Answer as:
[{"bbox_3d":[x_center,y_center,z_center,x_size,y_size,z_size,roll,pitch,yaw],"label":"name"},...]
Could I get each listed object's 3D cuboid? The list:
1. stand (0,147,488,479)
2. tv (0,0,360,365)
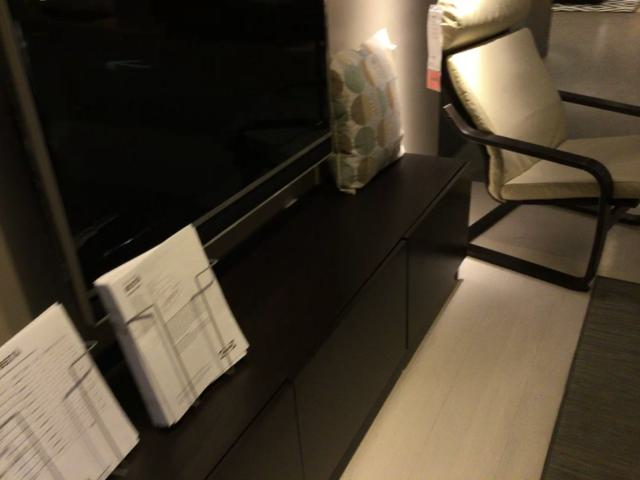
[{"bbox_3d":[-0.070,0.330,1.440,0.500,0.490,1.970,5,30,28],"label":"stand"},{"bbox_3d":[-0.230,-0.290,1.290,0.200,0.670,0.920,5,30,28],"label":"tv"}]
